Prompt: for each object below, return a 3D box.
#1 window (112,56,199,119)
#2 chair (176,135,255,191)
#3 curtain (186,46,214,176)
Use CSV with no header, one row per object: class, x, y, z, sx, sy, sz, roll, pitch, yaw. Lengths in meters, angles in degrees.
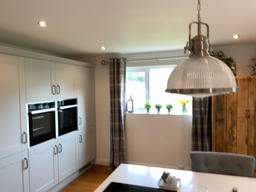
window,0.530,-0.170,4.310,1.700,1.120,0.400,1,3,25
chair,0.720,0.930,1.800,0.550,1.040,0.600,0,3,18
curtain,1.260,0.260,3.720,0.390,2.170,0.210,2,4,37
